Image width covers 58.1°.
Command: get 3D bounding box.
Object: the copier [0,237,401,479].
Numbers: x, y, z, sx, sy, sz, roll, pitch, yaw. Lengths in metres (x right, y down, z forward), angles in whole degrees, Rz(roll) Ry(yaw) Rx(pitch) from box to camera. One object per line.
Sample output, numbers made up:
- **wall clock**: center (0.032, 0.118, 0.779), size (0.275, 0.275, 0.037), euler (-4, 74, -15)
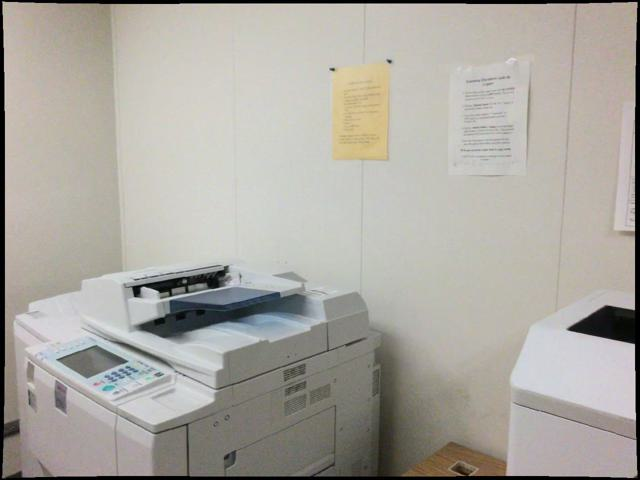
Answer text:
- **copier**: center (-0.499, 0.672, 1.920), size (1.258, 1.193, 0.839), euler (6, 10, 41)
